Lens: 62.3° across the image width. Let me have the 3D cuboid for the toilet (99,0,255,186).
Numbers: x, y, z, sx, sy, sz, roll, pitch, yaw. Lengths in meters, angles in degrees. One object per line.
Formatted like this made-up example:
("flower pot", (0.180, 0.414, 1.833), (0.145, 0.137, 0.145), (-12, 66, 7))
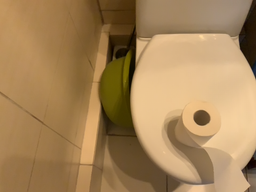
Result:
("toilet", (0.200, -0.090, 0.710), (0.390, 0.740, 0.690), (2, 67, 4))
